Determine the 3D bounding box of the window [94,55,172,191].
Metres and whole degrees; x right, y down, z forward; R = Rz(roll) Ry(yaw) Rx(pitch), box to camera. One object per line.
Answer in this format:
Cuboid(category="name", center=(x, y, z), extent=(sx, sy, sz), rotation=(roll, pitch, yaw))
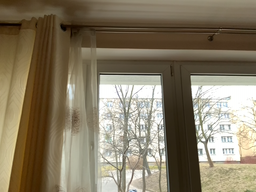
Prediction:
Cuboid(category="window", center=(0.030, 0.350, 1.670), extent=(0.560, 1.370, 0.150), rotation=(1, -15, -6))
